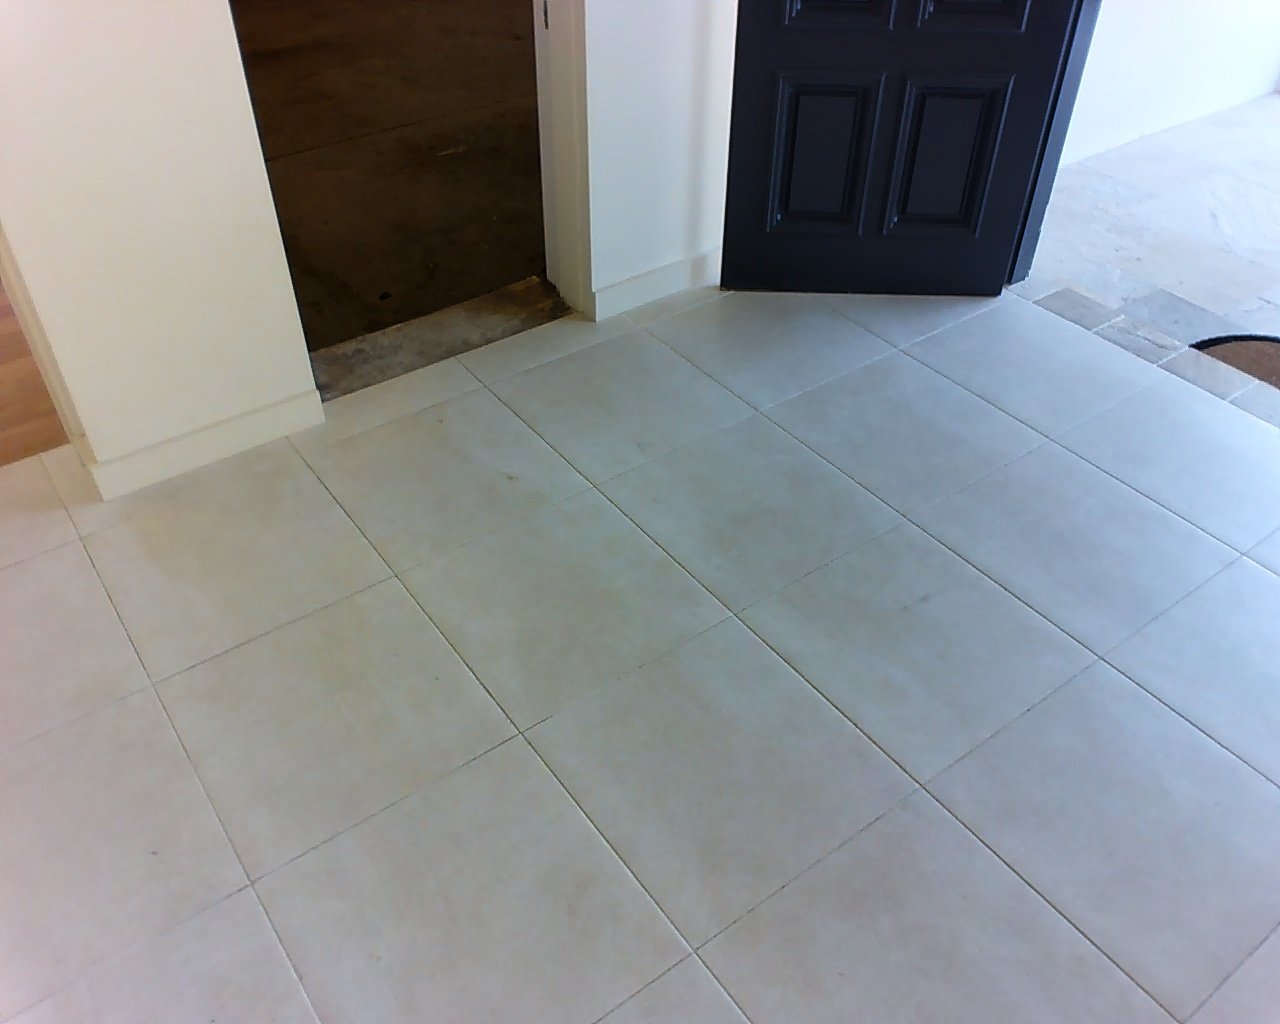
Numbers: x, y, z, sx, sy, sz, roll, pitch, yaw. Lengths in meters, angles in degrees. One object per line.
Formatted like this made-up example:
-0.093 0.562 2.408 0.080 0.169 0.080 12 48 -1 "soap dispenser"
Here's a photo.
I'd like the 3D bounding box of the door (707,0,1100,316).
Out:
0.650 -1.420 2.460 0.880 2.080 0.180 -1 40 -2 "door"
